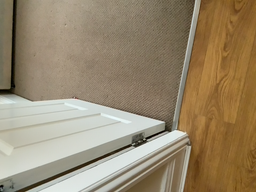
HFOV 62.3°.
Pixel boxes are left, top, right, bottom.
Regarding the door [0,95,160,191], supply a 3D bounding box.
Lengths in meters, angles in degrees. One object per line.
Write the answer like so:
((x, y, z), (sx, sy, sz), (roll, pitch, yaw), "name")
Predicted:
((-0.700, 0.170, 0.560), (0.760, 1.950, 0.120), (13, 100, 34), "door")
